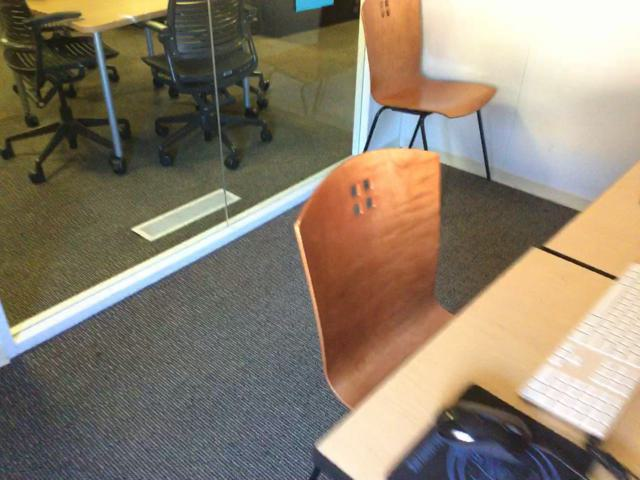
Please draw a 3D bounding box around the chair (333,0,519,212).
[{"bbox_3d":[0.430,-0.660,2.500,0.510,0.820,0.530,28,42,35],"label":"chair"}]

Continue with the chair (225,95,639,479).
[{"bbox_3d":[0.220,0.240,1.170,0.600,0.830,0.480,28,42,35],"label":"chair"}]
